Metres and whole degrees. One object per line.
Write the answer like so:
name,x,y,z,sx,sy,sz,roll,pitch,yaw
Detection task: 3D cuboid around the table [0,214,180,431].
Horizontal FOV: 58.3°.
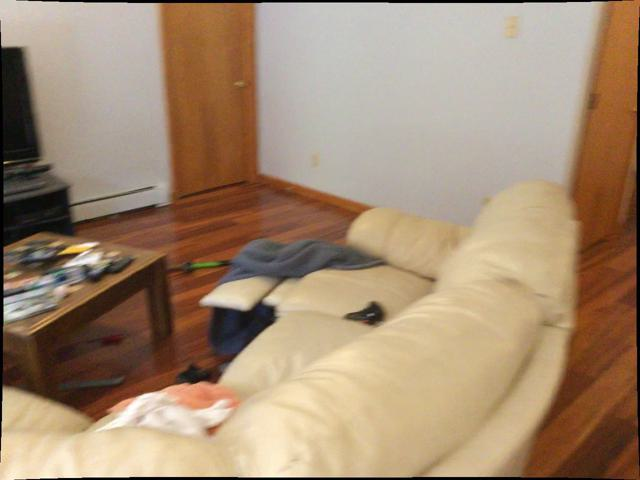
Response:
table,-1.299,0.300,2.650,0.899,0.490,0.890,7,23,17
